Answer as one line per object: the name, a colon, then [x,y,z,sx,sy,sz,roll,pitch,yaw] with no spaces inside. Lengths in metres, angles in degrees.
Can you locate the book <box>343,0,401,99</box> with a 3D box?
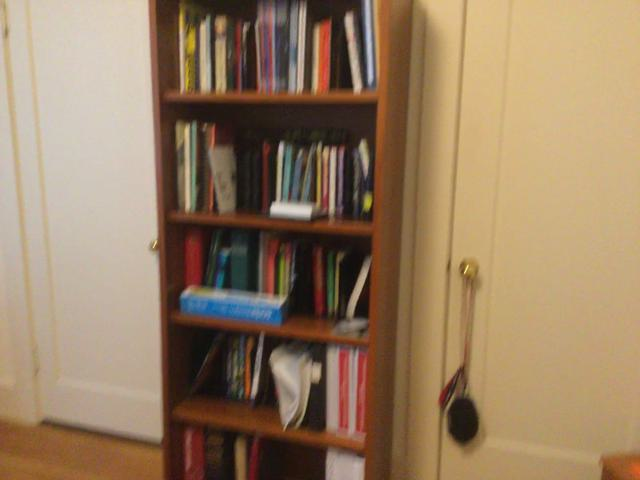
book: [0.160,-0.570,1.700,0.120,0.290,0.270,1,12,16]

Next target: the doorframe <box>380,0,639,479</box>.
doorframe: [0.790,-0.060,1.810,1.180,2.100,0.060,1,12,15]

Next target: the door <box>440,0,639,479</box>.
door: [0.790,0.020,1.820,0.800,1.990,0.080,1,12,16]

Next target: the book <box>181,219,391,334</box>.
book: [-0.110,0.110,1.990,0.670,0.330,0.220,1,12,16]

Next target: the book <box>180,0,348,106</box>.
book: [-0.170,-0.610,1.860,0.470,0.320,0.230,1,12,16]

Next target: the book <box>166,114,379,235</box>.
book: [-0.140,-0.220,1.900,0.620,0.350,0.290,1,12,16]

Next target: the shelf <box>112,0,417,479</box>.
shelf: [-0.120,0.100,1.940,0.830,1.790,0.360,1,13,16]

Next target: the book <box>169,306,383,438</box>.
book: [-0.140,0.440,2.020,0.670,0.310,0.290,1,12,16]

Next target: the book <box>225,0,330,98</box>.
book: [-0.120,-0.590,1.790,0.220,0.270,0.310,1,12,16]

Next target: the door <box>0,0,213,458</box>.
door: [-0.910,-0.120,2.260,0.870,1.980,0.090,1,12,16]

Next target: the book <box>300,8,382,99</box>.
book: [0.070,-0.540,1.710,0.180,0.220,0.250,1,12,16]

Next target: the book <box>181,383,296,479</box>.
book: [-0.290,0.750,2.140,0.320,0.320,0.270,1,12,16]
